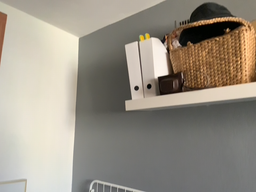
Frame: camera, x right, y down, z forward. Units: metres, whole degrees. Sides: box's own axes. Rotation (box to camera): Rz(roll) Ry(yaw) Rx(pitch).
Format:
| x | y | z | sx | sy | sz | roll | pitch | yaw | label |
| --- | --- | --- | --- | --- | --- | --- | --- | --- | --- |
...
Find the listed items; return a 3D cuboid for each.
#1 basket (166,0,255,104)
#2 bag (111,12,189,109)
| x | y | z | sx | sy | sz | roll | pitch | yaw | label |
| --- | --- | --- | --- | --- | --- | --- | --- | --- | --- |
| 0.400 | -0.190 | 0.980 | 0.340 | 0.390 | 0.280 | -9 | -15 | 37 | basket |
| 0.120 | -0.160 | 1.180 | 0.320 | 0.410 | 0.280 | -9 | -15 | 37 | bag |
